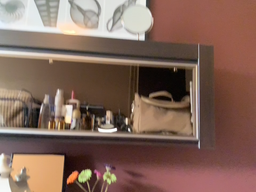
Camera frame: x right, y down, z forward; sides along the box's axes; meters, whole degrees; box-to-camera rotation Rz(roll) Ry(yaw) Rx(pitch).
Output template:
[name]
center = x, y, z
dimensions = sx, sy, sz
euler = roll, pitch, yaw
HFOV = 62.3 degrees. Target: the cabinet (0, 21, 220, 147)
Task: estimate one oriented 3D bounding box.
[cabinet]
center = -0.340, -0.040, 1.020
dimensions = 1.460, 0.480, 0.320
euler = 3, -8, -6
